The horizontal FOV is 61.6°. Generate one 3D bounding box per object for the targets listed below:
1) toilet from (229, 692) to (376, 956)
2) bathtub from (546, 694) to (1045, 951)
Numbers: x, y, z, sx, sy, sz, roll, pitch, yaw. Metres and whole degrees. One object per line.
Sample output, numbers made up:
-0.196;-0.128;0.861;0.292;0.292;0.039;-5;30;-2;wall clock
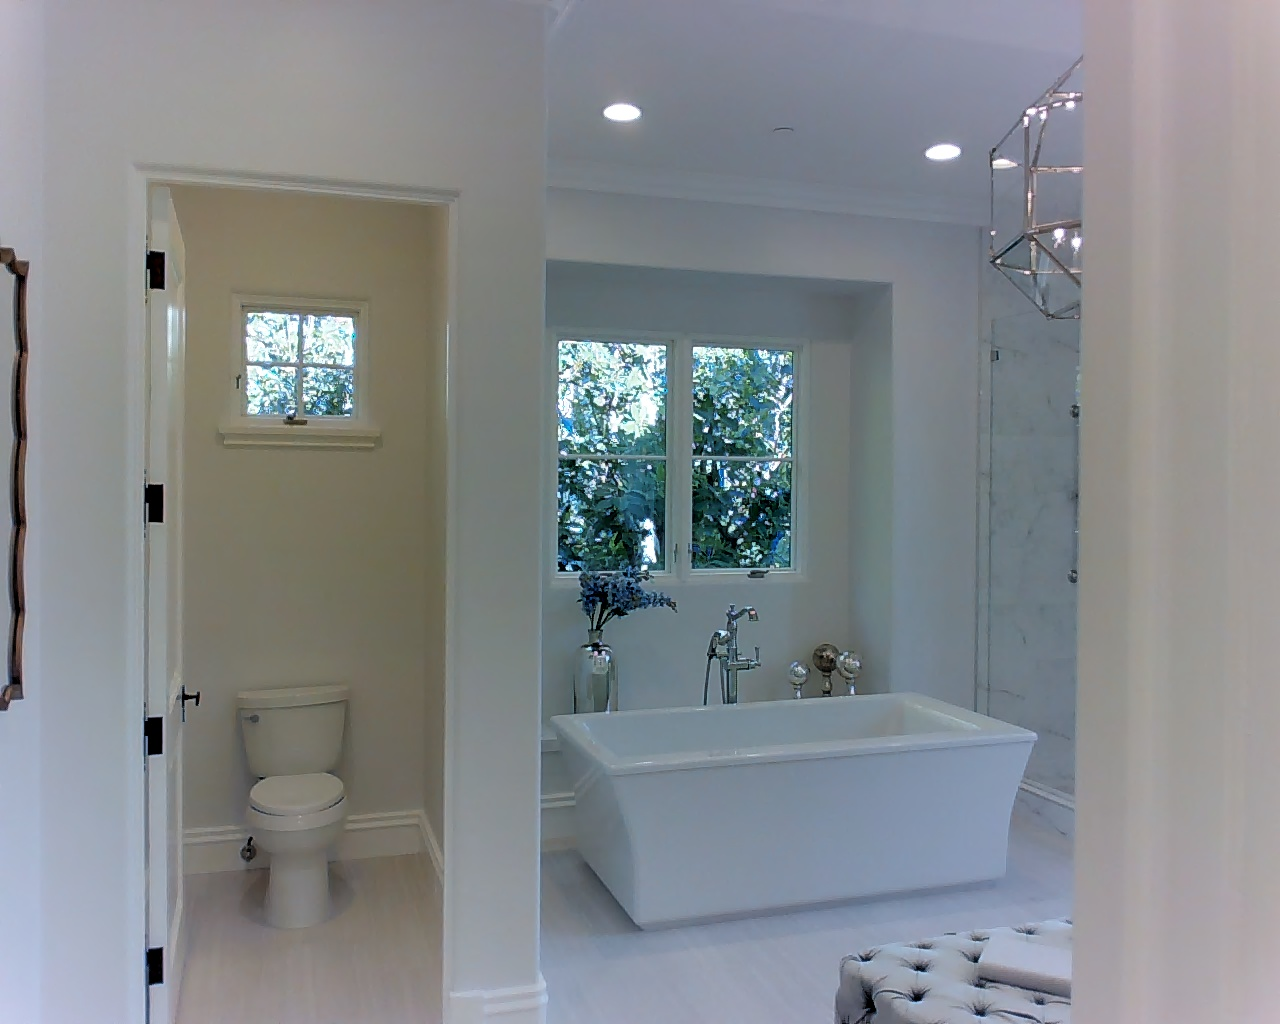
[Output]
-1.340;1.190;4.280;0.510;0.790;0.770;0;0;-17;toilet
0.610;1.240;4.610;1.829;0.650;1.080;0;0;-17;bathtub
